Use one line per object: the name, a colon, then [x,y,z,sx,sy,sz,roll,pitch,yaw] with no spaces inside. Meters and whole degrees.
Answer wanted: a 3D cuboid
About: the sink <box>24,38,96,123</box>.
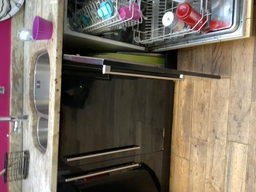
sink: [-0.420,-0.080,1.250,0.460,0.240,0.400,5,92,52]
